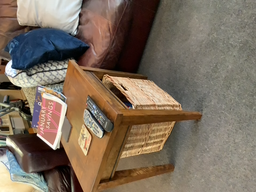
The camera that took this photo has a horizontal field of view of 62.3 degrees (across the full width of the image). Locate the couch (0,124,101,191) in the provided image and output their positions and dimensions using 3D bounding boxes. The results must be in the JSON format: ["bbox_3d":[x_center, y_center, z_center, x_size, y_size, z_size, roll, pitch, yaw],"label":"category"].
[{"bbox_3d":[-0.980,0.880,2.190,1.220,0.850,0.970,4,91,53],"label":"couch"}]

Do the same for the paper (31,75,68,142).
[{"bbox_3d":[-0.470,0.070,1.250,0.200,0.110,0.330,42,121,46],"label":"paper"}]
